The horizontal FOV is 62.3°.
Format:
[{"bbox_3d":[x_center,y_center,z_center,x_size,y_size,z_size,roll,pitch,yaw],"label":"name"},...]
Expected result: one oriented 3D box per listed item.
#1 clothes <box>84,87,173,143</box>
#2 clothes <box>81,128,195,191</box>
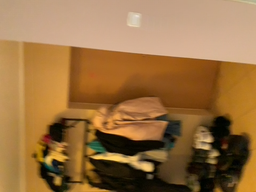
[{"bbox_3d":[-0.020,0.230,2.520,0.290,0.950,0.570,108,161,-53],"label":"clothes"},{"bbox_3d":[0.050,1.000,2.660,0.410,1.240,1.100,-112,27,-64],"label":"clothes"}]
